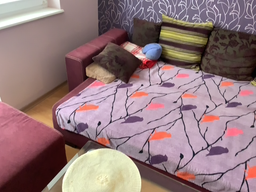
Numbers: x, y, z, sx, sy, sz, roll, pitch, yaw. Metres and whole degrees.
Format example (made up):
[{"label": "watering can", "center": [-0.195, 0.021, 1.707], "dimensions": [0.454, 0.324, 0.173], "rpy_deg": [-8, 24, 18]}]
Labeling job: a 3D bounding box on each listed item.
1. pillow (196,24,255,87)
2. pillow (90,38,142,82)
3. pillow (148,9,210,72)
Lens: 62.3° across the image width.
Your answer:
[{"label": "pillow", "center": [1.000, -0.420, 2.170], "dimensions": [0.460, 0.480, 0.270], "rpy_deg": [15, 36, 16]}, {"label": "pillow", "center": [-0.110, -0.380, 2.140], "dimensions": [0.370, 0.230, 0.410], "rpy_deg": [16, 36, 17]}, {"label": "pillow", "center": [0.540, -0.600, 2.320], "dimensions": [0.480, 0.470, 0.170], "rpy_deg": [29, 38, 7]}]
